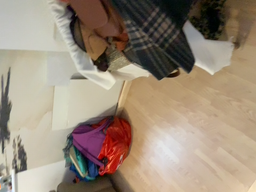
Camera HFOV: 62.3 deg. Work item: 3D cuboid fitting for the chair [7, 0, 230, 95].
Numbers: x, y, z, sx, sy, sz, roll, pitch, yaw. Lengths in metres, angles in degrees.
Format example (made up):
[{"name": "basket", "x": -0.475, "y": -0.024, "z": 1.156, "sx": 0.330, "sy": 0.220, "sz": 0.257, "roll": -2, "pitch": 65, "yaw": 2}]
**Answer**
[{"name": "chair", "x": -0.050, "y": -0.390, "z": 1.070, "sx": 0.590, "sy": 0.870, "sz": 0.590, "roll": -15, "pitch": 84, "yaw": 53}]
